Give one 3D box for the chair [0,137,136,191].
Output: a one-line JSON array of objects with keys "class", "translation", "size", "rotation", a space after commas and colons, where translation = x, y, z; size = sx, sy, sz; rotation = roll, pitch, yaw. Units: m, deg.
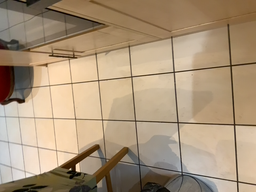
[{"class": "chair", "translation": [-0.400, 0.650, 1.230], "size": [0.450, 0.940, 0.560], "rotation": [-3, 94, 34]}]
